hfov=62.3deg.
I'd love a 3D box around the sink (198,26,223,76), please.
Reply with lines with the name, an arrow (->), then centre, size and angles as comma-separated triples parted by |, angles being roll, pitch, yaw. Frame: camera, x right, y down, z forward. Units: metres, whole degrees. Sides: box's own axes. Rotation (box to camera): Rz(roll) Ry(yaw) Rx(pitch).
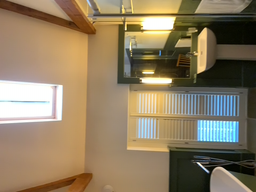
sink -> 1.110, -0.590, 2.900 | 0.440, 0.190, 0.580 | 9, -98, -86
